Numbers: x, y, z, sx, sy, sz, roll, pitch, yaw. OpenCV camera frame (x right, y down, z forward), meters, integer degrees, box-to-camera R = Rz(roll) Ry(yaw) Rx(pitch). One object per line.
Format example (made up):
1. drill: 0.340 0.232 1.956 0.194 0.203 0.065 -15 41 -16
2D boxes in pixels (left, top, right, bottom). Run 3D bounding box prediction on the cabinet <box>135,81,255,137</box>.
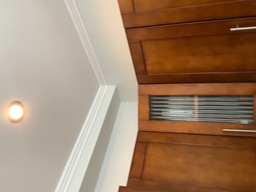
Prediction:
1. cabinet: 0.450 0.070 1.400 0.380 0.730 0.300 0 -90 -74
